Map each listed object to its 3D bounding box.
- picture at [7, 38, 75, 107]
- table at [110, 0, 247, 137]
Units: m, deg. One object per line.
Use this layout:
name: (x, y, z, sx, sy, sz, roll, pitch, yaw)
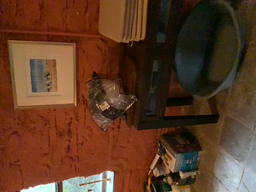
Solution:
picture: (-0.680, -0.180, 1.720, 0.040, 0.480, 0.540, -137, 48, -62)
table: (0.350, -0.400, 1.730, 0.550, 0.800, 1.250, -137, 48, -62)
